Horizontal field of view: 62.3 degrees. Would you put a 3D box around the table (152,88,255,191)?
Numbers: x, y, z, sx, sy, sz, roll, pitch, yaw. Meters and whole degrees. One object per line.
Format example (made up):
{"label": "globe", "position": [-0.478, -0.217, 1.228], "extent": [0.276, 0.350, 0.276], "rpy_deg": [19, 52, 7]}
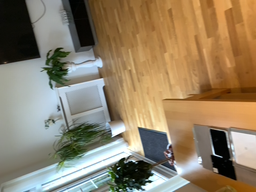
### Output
{"label": "table", "position": [0.770, 0.350, 1.460], "extent": [1.340, 0.400, 0.740], "rpy_deg": [-1, 103, 64]}

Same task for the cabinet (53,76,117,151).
{"label": "cabinet", "position": [-0.810, 0.310, 4.120], "extent": [0.210, 0.930, 1.210], "rpy_deg": [-4, 101, 65]}
